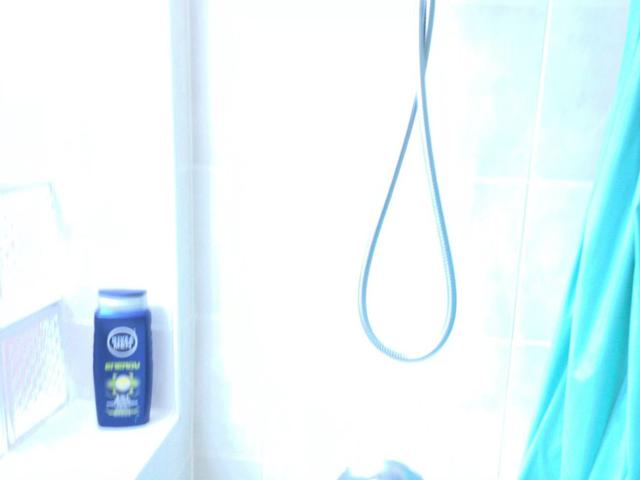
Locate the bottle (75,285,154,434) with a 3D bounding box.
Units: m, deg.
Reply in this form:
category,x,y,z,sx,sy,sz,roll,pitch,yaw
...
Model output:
category,x,y,z,sx,sy,sz,roll,pitch,yaw
bottle,-0.310,0.180,0.880,0.090,0.210,0.060,2,9,3
